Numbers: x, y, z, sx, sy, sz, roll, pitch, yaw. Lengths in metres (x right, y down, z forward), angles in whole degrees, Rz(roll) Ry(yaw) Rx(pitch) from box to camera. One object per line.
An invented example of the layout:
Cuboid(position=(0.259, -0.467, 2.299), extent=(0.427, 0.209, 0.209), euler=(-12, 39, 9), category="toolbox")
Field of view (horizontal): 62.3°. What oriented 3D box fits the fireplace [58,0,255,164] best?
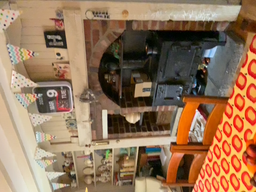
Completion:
Cuboid(position=(0.220, -0.100, 2.830), extent=(0.780, 1.870, 2.020), euler=(-103, 14, -52), category="fireplace")
